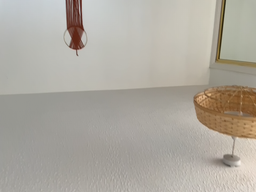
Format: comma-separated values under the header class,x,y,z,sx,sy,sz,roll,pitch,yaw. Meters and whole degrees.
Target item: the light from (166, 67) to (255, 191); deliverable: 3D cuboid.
class,x,y,z,sx,sy,sz,roll,pitch,yaw
light,0.550,0.140,1.080,0.410,0.560,0.550,-167,74,-72
